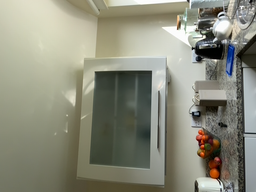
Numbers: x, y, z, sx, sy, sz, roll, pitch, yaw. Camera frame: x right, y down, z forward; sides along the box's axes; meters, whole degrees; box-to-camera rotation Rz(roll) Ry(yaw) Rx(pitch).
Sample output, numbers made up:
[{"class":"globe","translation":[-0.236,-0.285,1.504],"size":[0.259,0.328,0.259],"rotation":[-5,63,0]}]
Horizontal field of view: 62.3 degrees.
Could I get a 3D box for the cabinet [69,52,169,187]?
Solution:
[{"class":"cabinet","translation":[-0.040,0.180,1.860],"size":[0.360,0.780,1.020],"rotation":[31,-120,-77]}]
